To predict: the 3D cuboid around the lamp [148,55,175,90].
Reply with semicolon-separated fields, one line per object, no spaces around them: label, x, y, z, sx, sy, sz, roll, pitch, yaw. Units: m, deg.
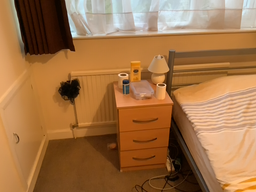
lamp;0.260;-0.190;1.690;0.160;0.230;0.170;-4;28;-6
